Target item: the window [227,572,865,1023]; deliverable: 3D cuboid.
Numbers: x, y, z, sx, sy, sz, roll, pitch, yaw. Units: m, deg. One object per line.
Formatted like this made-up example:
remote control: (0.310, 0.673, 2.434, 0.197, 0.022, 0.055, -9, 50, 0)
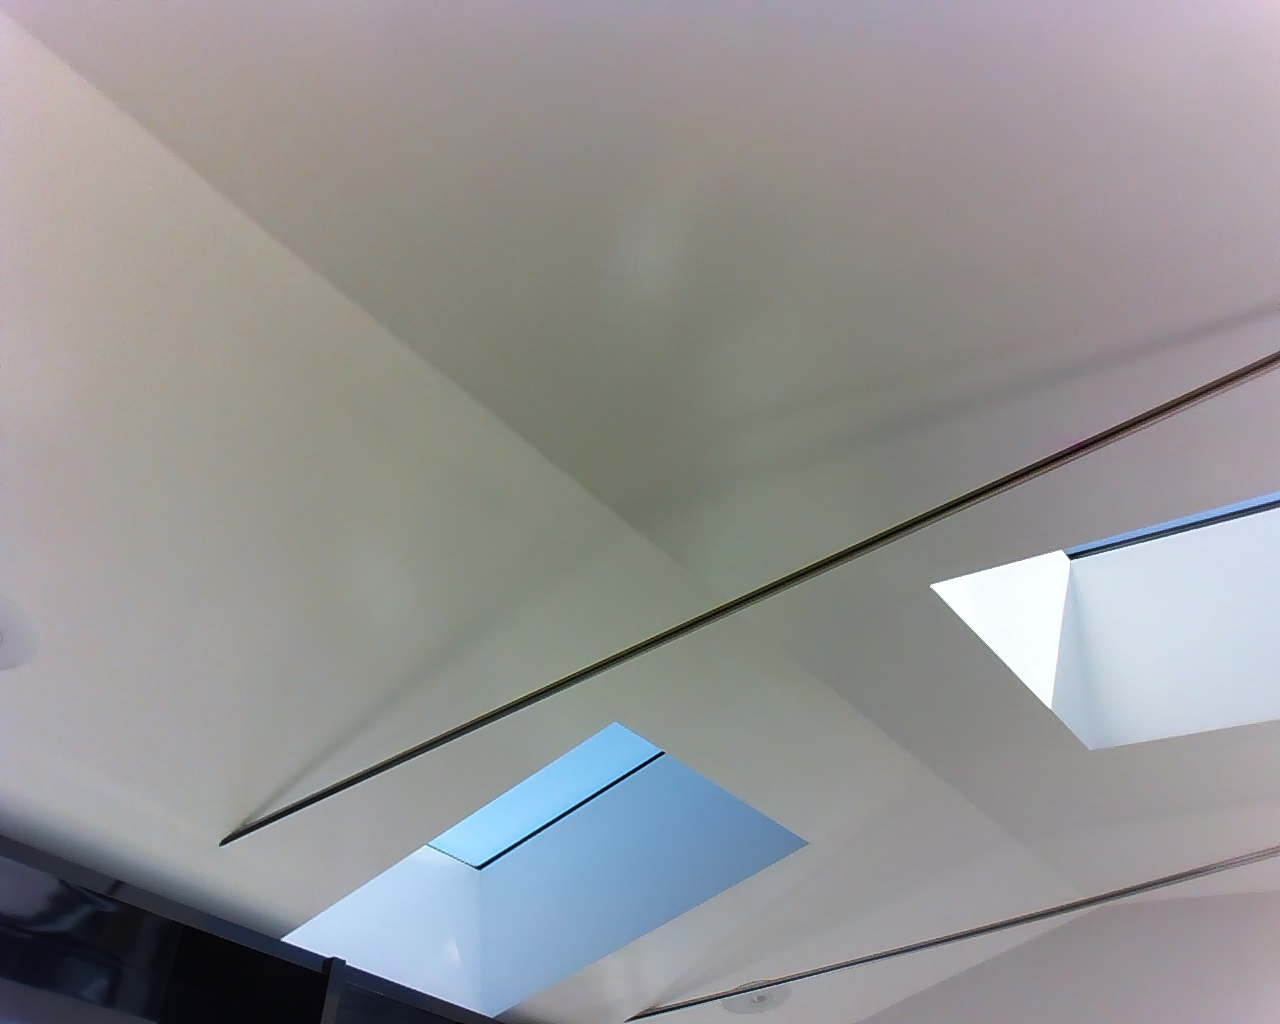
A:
window: (-0.250, 0.880, 2.830, 1.350, 0.660, 0.820, -28, -49, 29)
